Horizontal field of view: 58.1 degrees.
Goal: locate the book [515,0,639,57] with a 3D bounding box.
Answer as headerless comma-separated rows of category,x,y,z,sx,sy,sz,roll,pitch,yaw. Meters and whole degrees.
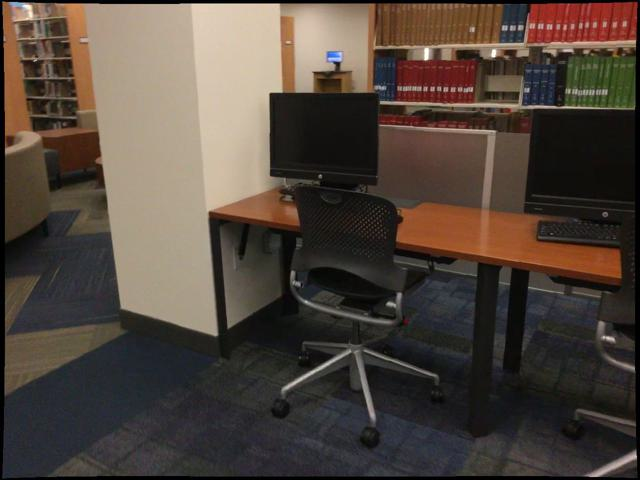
book,1.566,-1.133,2.950,1.008,0.341,0.350,9,21,29

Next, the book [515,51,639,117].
book,1.596,-0.842,3.080,0.968,0.311,0.400,9,21,29

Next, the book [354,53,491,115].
book,0.638,-0.983,3.610,0.729,0.331,0.430,9,21,29

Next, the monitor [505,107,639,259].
monitor,0.997,-0.211,2.000,0.599,0.451,0.280,9,21,29

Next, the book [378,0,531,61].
book,0.758,-1.223,3.340,0.828,0.331,0.210,9,21,29

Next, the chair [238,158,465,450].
chair,0.160,0.190,2.370,0.649,0.912,0.660,8,21,29
